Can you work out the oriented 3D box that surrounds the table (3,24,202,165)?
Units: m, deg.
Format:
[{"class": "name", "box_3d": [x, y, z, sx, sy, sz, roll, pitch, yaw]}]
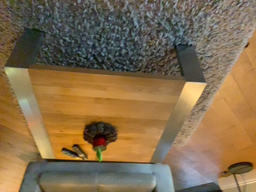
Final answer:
[{"class": "table", "box_3d": [-0.190, 0.110, 1.720, 1.070, 0.410, 1.170, 4, 140, -6]}]
